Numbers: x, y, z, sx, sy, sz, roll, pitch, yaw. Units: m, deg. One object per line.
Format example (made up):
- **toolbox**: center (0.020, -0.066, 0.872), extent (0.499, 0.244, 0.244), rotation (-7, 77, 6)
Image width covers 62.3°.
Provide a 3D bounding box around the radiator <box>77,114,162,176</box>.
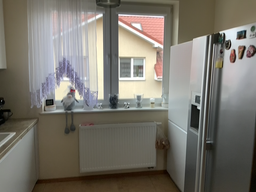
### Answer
- **radiator**: center (-0.110, 0.630, 2.840), extent (1.100, 0.710, 0.210), rotation (-1, 8, -12)
